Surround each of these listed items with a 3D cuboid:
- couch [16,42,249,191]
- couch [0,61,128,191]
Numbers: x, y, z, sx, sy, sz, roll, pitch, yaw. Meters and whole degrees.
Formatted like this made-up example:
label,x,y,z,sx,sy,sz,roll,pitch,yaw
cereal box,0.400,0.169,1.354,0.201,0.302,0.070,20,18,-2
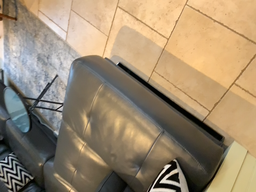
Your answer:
label,x,y,z,sx,sy,sz,roll,pitch,yaw
couch,-0.130,0.530,1.530,1.040,0.780,1.360,39,129,20
couch,-1.190,0.850,2.560,2.910,0.780,1.030,39,129,20
